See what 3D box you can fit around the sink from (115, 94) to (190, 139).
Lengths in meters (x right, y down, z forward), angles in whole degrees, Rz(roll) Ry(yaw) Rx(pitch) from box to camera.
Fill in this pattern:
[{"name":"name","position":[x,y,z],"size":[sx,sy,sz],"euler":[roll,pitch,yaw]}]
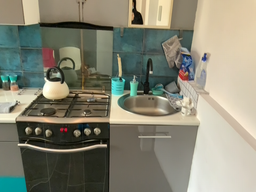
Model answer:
[{"name":"sink","position":[0.160,0.150,1.690],"size":[0.520,0.170,0.420],"euler":[2,21,-3]}]

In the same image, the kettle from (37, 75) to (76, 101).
[{"name":"kettle","position":[-0.560,-0.070,1.710],"size":[0.240,0.130,0.250],"euler":[1,21,-5]}]
